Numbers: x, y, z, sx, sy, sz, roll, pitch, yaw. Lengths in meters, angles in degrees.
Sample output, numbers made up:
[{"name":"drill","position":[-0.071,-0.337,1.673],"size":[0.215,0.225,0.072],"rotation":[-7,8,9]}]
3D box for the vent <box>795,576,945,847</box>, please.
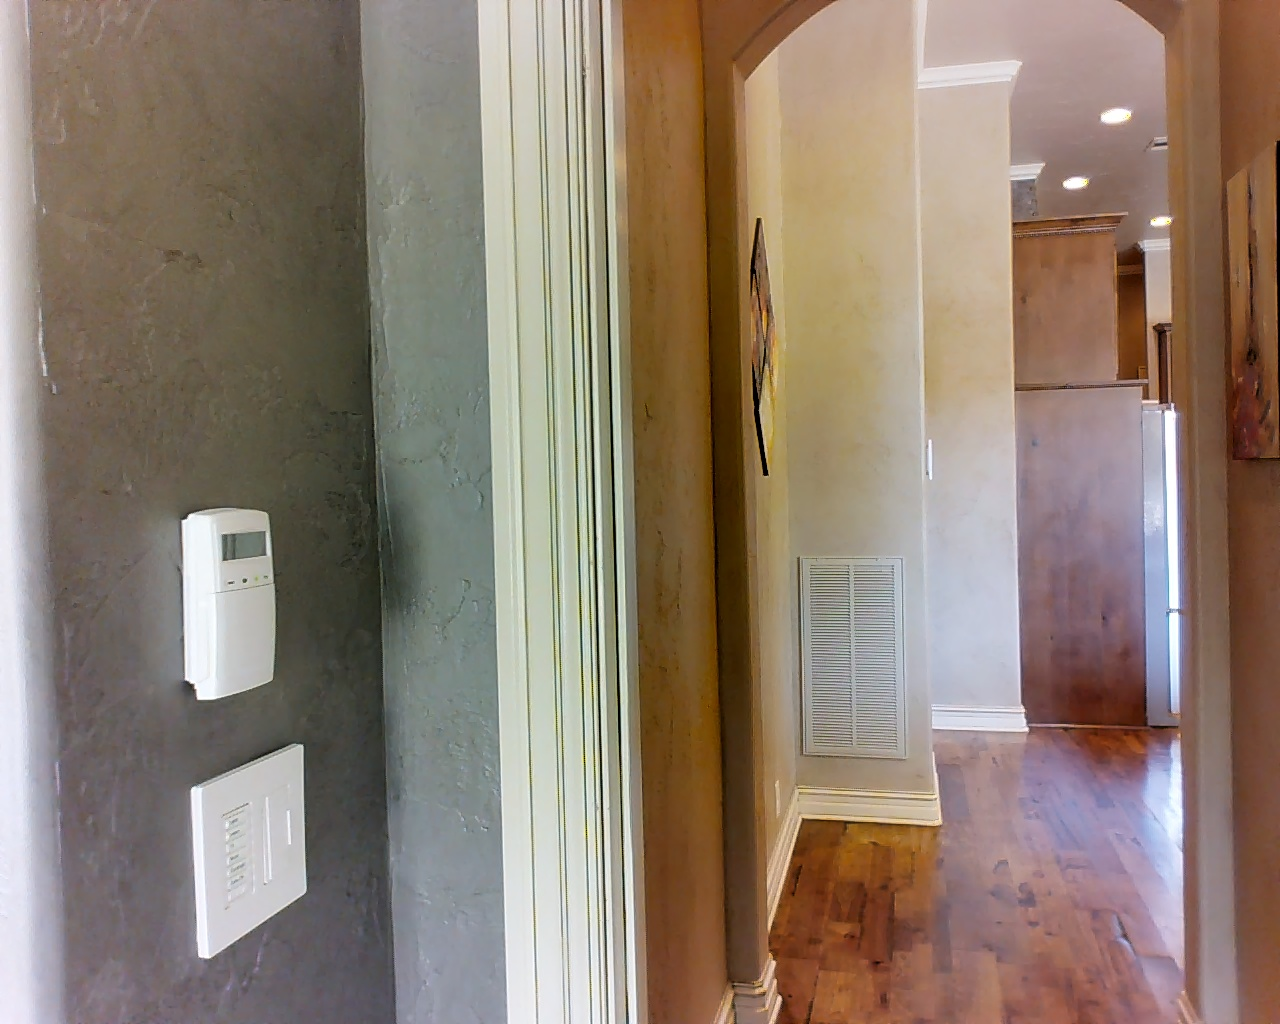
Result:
[{"name":"vent","position":[0.940,0.810,4.380],"size":[0.570,1.090,0.040],"rotation":[-1,1,14]}]
